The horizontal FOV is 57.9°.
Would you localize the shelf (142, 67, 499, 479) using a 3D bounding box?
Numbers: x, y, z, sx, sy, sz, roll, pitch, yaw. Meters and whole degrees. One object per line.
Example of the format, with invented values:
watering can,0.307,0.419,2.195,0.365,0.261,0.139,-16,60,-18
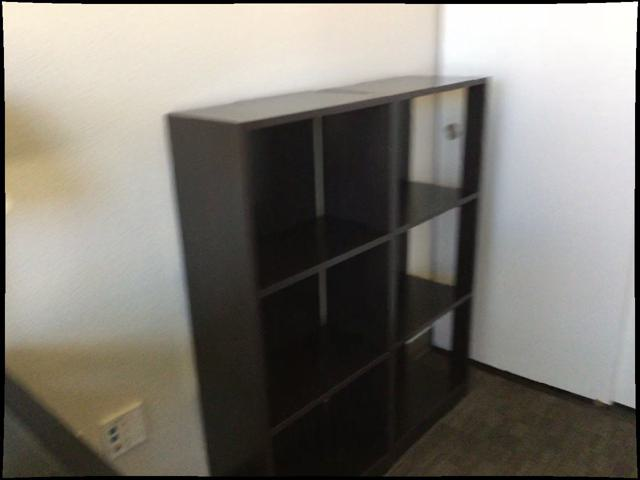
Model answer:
shelf,0.110,0.130,1.820,0.350,1.201,1.080,16,28,41
